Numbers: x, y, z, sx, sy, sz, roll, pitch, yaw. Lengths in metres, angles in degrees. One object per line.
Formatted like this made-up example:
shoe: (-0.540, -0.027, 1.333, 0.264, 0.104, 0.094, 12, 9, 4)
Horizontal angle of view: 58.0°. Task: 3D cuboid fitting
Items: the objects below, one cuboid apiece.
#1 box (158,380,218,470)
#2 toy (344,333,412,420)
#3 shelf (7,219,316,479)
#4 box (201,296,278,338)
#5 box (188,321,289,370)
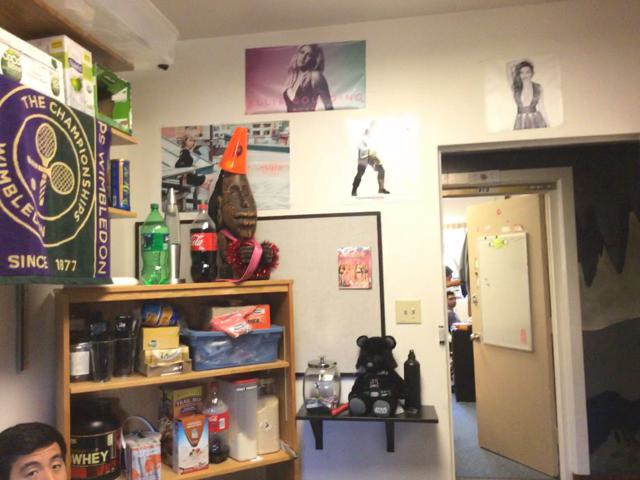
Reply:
box: (-0.530, 0.730, 2.310, 0.190, 0.300, 0.170, 1, -8, -27)
toy: (0.250, 0.570, 2.450, 0.240, 0.330, 0.240, -4, -7, 12)
shelf: (-0.550, 0.840, 2.300, 0.880, 1.680, 0.850, -4, -7, 12)
box: (-0.340, 0.320, 2.410, 0.260, 0.150, 0.240, 0, -8, -22)
box: (-0.340, 0.430, 2.390, 0.370, 0.170, 0.190, 0, -8, -24)
